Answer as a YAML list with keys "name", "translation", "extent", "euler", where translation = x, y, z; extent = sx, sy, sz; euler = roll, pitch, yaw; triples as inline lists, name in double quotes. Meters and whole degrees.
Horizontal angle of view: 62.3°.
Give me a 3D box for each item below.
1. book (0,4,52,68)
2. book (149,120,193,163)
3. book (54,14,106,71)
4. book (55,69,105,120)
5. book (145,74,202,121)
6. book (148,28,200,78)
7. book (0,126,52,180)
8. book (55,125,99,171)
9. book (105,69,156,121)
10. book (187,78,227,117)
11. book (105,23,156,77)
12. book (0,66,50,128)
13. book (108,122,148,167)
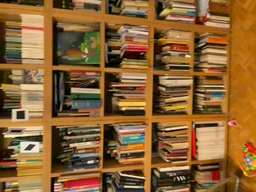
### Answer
- name: "book"
  translation: [-0.790, -0.430, 1.620]
  extent: [0.320, 0.370, 0.370]
  euler: [172, 98, -73]
- name: "book"
  translation: [0.400, 0.410, 2.000]
  extent: [0.290, 0.300, 0.330]
  euler: [180, 90, -73]
- name: "book"
  translation: [-0.400, -0.410, 1.740]
  extent: [0.300, 0.380, 0.360]
  euler: [178, 93, -73]
- name: "book"
  translation: [-0.400, -0.010, 1.750]
  extent: [0.280, 0.370, 0.380]
  euler: [180, 91, -73]
- name: "book"
  translation: [0.410, 0.000, 1.980]
  extent: [0.330, 0.390, 0.390]
  euler: [-161, 72, -72]
- name: "book"
  translation: [0.420, -0.380, 1.980]
  extent: [0.300, 0.380, 0.380]
  euler: [176, 95, -73]
- name: "book"
  translation: [-0.790, 0.420, 1.640]
  extent: [0.300, 0.360, 0.300]
  euler: [-161, 72, -72]
- name: "book"
  translation: [-0.430, 0.410, 1.770]
  extent: [0.310, 0.330, 0.300]
  euler: [176, 95, -73]
- name: "book"
  translation: [0.010, -0.010, 1.850]
  extent: [0.320, 0.360, 0.410]
  euler: [-174, 85, -73]
- name: "book"
  translation: [0.770, 0.010, 2.080]
  extent: [0.250, 0.250, 0.360]
  euler: [-170, 81, -73]
- name: "book"
  translation: [0.010, -0.380, 1.860]
  extent: [0.310, 0.370, 0.380]
  euler: [178, 93, -73]
- name: "book"
  translation: [-0.810, 0.000, 1.660]
  extent: [0.410, 0.350, 0.420]
  euler: [-174, 85, -73]
- name: "book"
  translation: [-0.010, 0.410, 1.890]
  extent: [0.330, 0.270, 0.310]
  euler: [-174, 85, -73]
